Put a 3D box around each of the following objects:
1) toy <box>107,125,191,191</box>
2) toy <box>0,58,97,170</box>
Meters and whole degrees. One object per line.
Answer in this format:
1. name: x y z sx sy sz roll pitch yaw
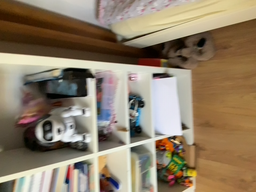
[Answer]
1. toy: 0.130 0.400 1.330 0.380 0.350 0.360 0 92 48
2. toy: -0.360 0.050 0.880 0.400 0.270 0.340 1 92 48
